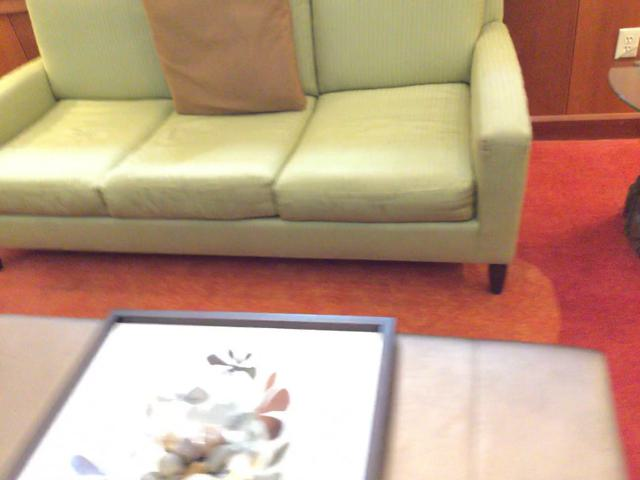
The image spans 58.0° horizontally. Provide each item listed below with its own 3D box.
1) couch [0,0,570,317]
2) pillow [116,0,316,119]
[{"bbox_3d":[-0.350,-0.520,2.170,2.110,1.010,1.020,3,39,11],"label":"couch"},{"bbox_3d":[-0.360,-0.760,2.120,0.610,0.550,0.270,3,39,11],"label":"pillow"}]
